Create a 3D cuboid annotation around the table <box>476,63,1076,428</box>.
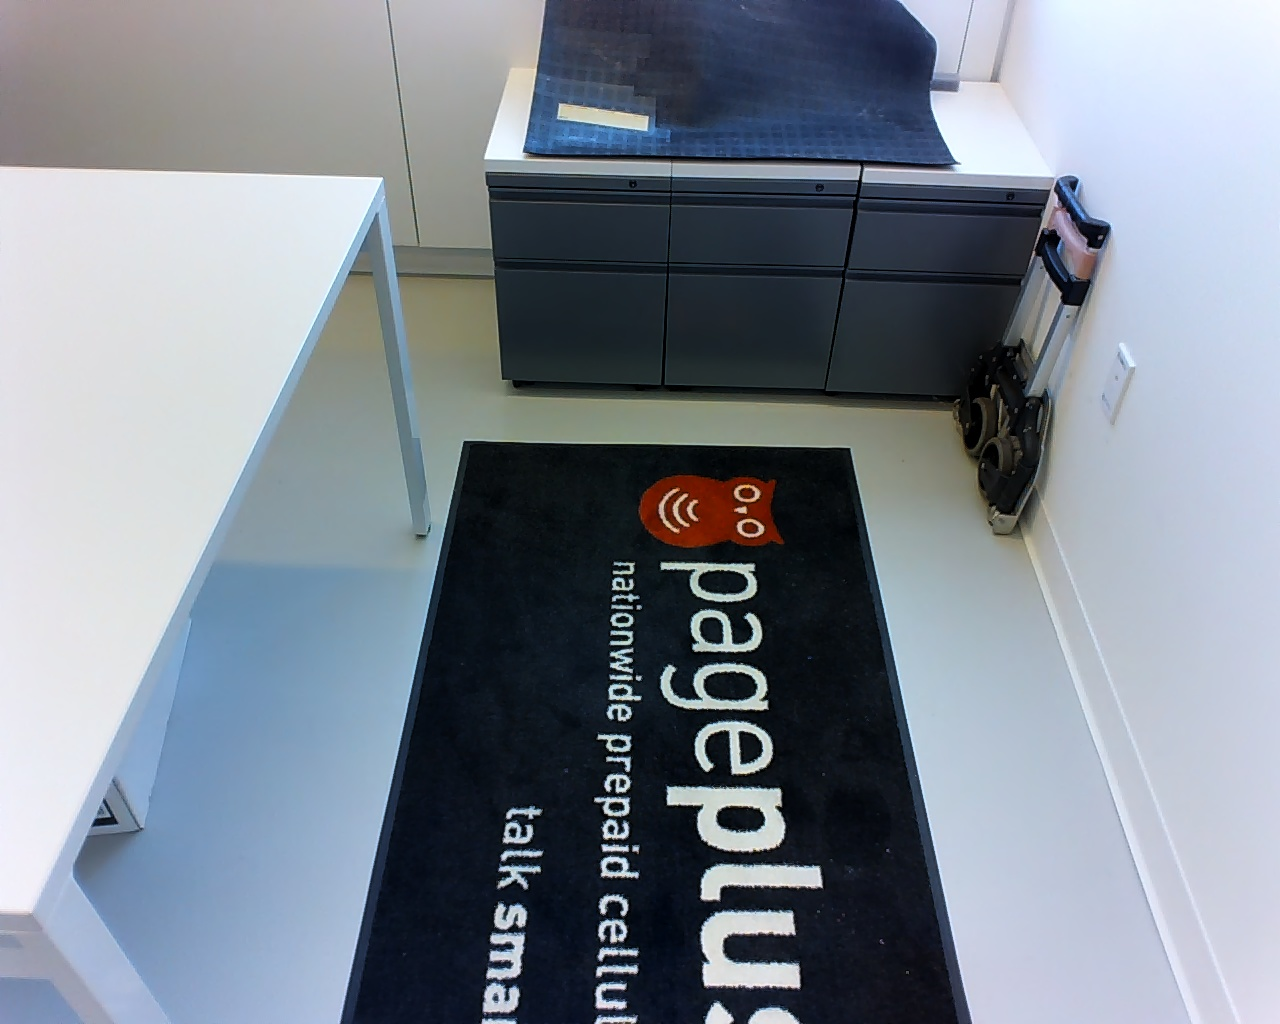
[{"bbox_3d":[0.260,-0.610,2.440,1.140,0.590,0.550,2,42,1],"label":"table"}]
